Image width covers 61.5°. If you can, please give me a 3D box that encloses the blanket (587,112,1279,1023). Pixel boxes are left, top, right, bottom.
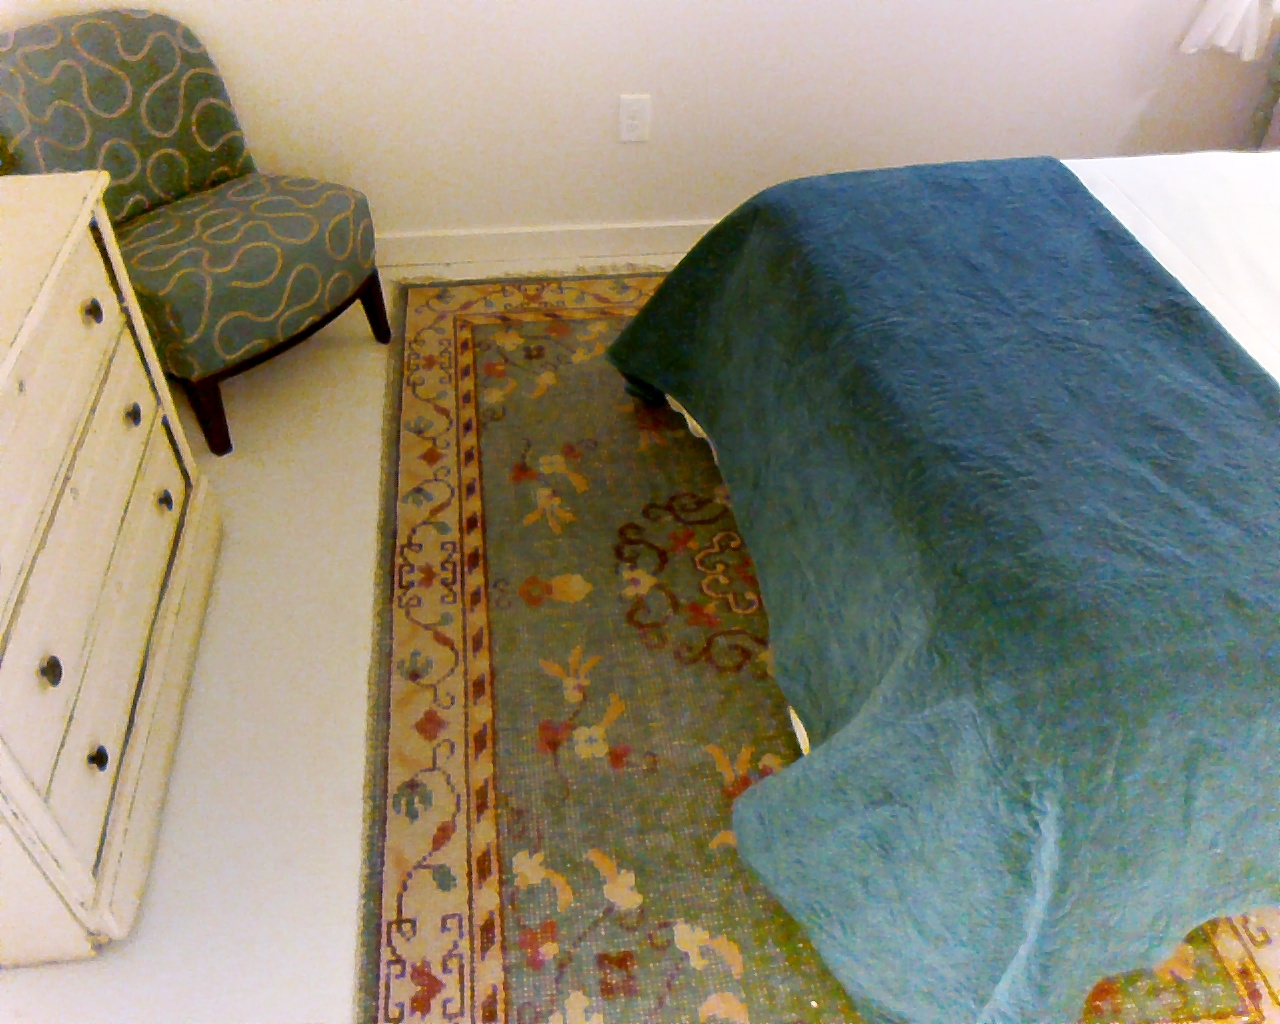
[{"bbox_3d":[0.500,0.000,1.880,0.950,0.650,1.840,-5,42,-8],"label":"blanket"}]

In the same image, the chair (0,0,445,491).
[{"bbox_3d":[-1.050,-0.690,2.520,0.860,0.790,0.680,24,46,23],"label":"chair"}]
